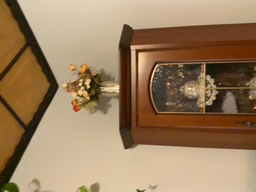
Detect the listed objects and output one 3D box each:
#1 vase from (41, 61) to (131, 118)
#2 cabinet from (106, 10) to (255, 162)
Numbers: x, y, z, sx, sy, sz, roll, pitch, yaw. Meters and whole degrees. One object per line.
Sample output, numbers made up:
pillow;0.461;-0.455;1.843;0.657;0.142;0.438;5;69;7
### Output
vase;-0.240;-0.060;1.360;0.300;0.470;0.290;-55;-35;-72
cabinet;0.540;-0.050;1.120;0.550;1.130;0.560;80;-165;-47
